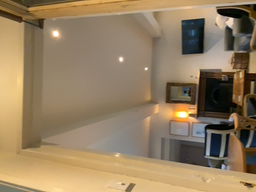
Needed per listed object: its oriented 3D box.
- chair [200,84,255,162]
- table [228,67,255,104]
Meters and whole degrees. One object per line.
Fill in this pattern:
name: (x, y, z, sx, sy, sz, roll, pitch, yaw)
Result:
chair: (1.570, 0.370, 3.050, 0.800, 0.930, 0.690, -66, -27, -46)
table: (2.260, -0.190, 4.130, 1.120, 0.400, 0.620, -5, -81, -71)
